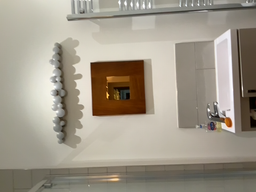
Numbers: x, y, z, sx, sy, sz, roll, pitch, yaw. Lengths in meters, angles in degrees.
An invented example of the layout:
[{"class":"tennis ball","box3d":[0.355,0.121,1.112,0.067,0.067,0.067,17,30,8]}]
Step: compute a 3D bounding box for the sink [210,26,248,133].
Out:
[{"class":"sink","box3d":[0.650,-0.100,1.390,0.240,0.110,0.640,-30,-63,-89]}]
